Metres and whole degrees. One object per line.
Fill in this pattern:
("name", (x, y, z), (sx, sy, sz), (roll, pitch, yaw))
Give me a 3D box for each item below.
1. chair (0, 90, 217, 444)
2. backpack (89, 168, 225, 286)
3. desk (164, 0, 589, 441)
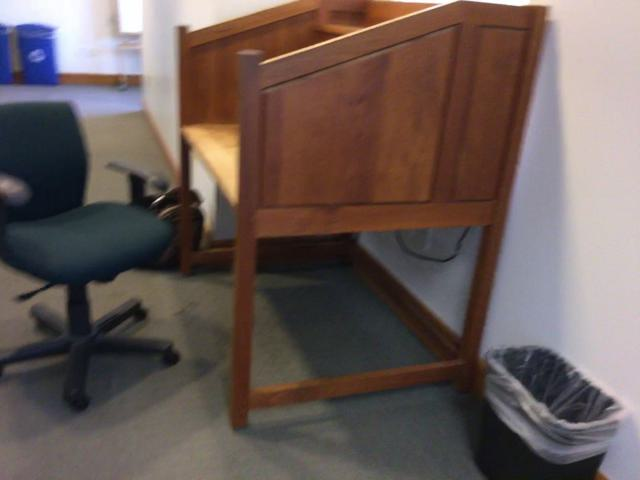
("chair", (-0.850, 0.020, 2.020), (0.680, 0.930, 0.620), (21, 26, 30))
("backpack", (-0.810, -0.070, 2.920), (0.350, 0.440, 0.410), (32, 11, 13))
("desk", (-0.020, -0.300, 2.350), (1.030, 1.420, 1.390), (-2, 24, -21))
